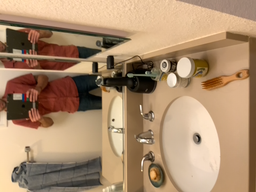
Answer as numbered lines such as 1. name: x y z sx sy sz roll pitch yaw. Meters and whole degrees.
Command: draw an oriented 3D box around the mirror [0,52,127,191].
1. mirror: -0.470 0.200 0.890 0.050 1.020 0.750 -4 87 61
